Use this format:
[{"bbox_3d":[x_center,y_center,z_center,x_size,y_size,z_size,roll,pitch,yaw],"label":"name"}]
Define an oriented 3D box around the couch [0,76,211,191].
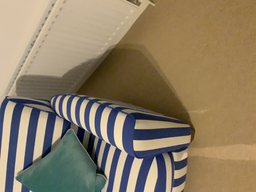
[{"bbox_3d":[-0.210,0.430,1.270,0.920,0.840,0.920,16,100,42],"label":"couch"}]
